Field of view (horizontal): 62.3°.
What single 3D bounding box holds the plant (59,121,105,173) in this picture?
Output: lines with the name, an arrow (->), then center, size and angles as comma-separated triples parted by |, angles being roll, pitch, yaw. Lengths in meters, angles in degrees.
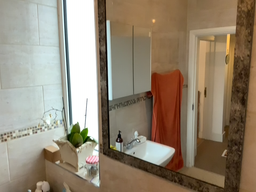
plant -> -0.290, 0.310, 1.350 | 0.170, 0.230, 0.220 | 8, 12, 42
